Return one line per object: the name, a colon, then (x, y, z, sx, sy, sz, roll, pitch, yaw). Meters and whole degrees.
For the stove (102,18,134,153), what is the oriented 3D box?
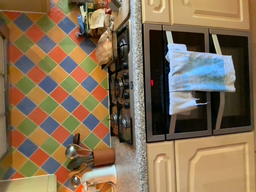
stove: (-0.080, -0.050, 1.320, 0.530, 0.020, 0.680, 178, 90, -71)
